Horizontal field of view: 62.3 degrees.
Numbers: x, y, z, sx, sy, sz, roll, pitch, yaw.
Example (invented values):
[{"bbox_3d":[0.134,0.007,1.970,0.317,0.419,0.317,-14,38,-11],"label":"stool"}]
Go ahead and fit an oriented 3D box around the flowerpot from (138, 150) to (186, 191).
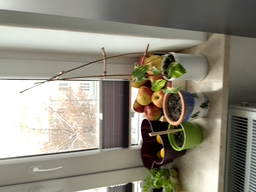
[{"bbox_3d":[0.160,0.410,1.050,0.190,0.140,0.210,-156,68,-66],"label":"flowerpot"}]
